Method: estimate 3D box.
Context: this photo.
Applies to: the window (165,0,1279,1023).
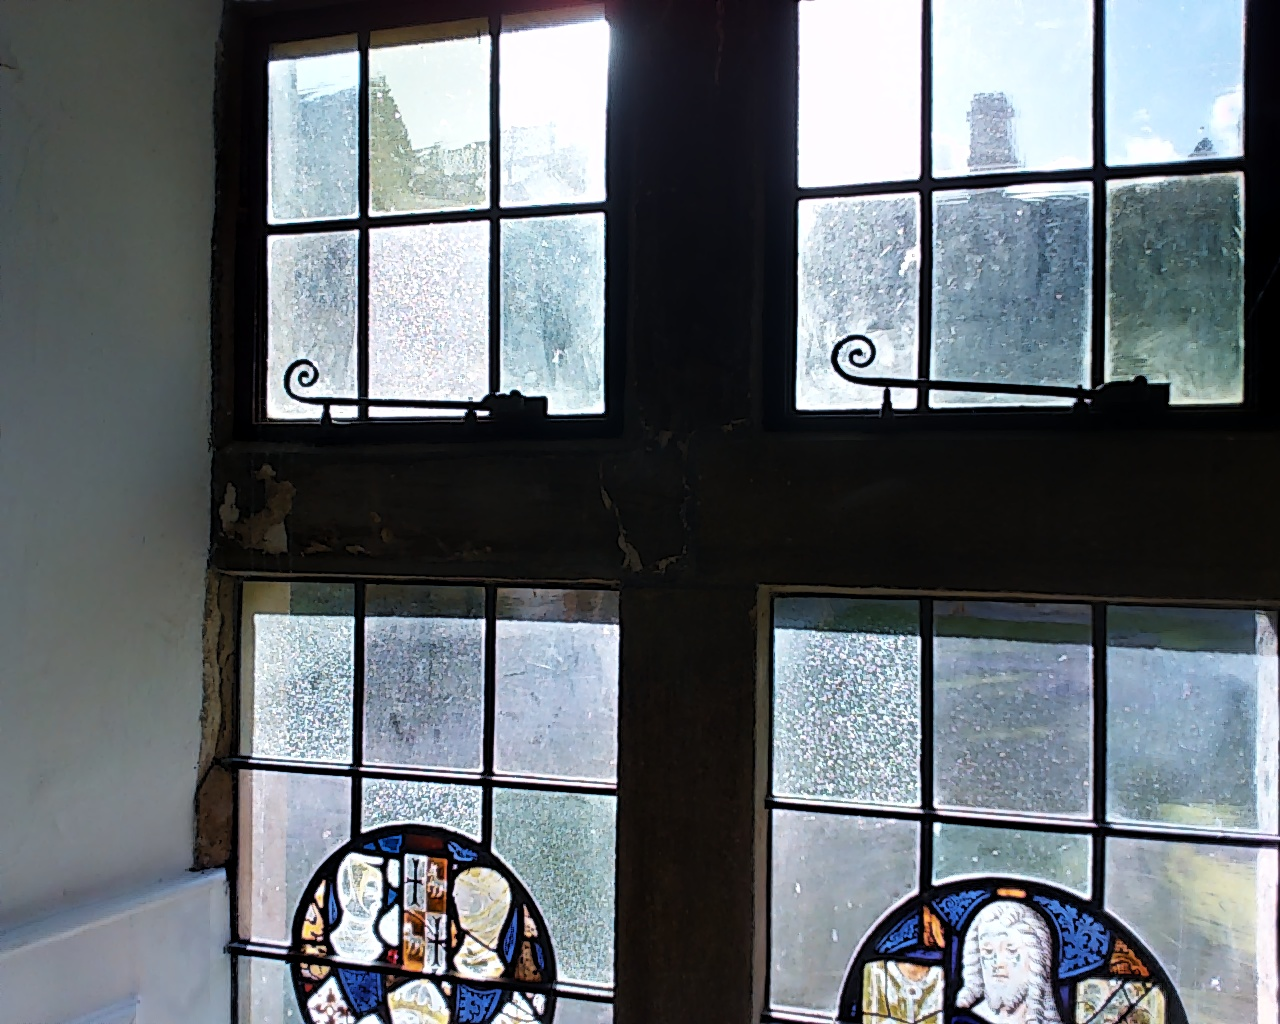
[{"bbox_3d":[0.060,0.290,1.070,1.120,1.821,0.130,1,-1,14],"label":"window"}]
